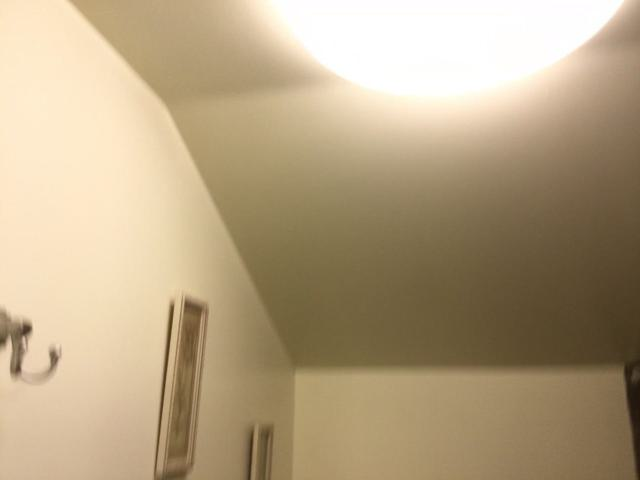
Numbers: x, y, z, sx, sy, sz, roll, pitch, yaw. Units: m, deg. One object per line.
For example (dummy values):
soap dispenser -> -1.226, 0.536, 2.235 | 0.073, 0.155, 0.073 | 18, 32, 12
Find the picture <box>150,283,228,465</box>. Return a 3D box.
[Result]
picture -> -0.260, 0.280, 1.190 | 0.040, 0.340, 0.200 | -5, -21, 15
